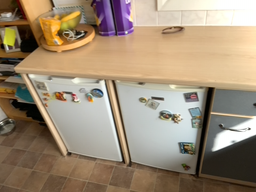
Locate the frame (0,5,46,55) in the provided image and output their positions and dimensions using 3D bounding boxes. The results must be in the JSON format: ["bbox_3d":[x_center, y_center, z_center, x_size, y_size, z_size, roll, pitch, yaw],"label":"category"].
[{"bbox_3d":[-0.990,-0.540,1.700,0.490,0.280,0.270,10,43,21],"label":"frame"}]
